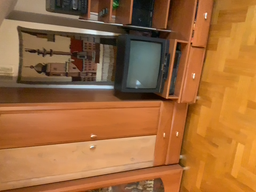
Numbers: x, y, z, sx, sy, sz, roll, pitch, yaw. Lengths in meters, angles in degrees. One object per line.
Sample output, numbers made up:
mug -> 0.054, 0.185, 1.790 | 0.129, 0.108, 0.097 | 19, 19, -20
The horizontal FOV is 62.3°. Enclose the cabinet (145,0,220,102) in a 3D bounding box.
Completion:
cabinet -> 0.520, -0.550, 2.240 | 0.680, 0.270, 1.070 | -148, 61, -62

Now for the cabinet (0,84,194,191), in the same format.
cabinet -> -0.370, 0.320, 2.130 | 0.590, 1.980, 0.730 | -148, 61, -62

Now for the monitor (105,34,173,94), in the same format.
monitor -> 0.080, -0.320, 2.070 | 0.470, 0.440, 0.500 | -148, 61, -62
